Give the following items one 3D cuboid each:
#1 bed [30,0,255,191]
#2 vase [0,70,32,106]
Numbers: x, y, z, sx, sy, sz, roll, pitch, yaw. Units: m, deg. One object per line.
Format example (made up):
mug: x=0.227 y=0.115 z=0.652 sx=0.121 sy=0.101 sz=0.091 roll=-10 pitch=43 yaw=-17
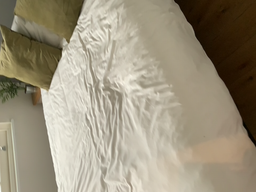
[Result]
bed: x=-0.110 y=0.020 z=1.540 sx=1.450 sy=0.640 sz=1.980 roll=-47 pitch=53 yaw=42
vase: x=-1.250 y=-0.080 z=2.260 sx=0.200 sy=0.360 sz=0.310 roll=-47 pitch=53 yaw=42
